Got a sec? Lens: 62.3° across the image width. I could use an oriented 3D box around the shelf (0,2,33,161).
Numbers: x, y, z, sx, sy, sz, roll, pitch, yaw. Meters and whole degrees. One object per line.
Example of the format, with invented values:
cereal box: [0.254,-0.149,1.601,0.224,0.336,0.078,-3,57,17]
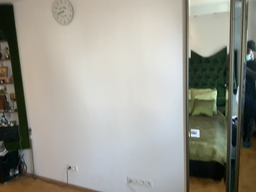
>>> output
shelf: [-1.770,-0.180,2.900,0.520,2.000,0.420,2,10,24]
